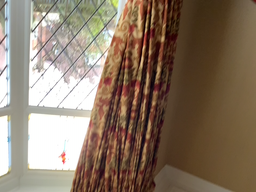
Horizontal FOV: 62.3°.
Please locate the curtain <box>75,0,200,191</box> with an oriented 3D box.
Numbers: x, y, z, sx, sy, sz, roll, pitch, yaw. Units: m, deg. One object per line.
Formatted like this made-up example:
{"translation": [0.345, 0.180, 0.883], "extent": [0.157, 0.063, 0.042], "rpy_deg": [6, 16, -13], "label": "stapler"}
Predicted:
{"translation": [0.070, -0.040, 1.560], "extent": [0.450, 2.200, 0.650], "rpy_deg": [17, -163, 29], "label": "curtain"}
